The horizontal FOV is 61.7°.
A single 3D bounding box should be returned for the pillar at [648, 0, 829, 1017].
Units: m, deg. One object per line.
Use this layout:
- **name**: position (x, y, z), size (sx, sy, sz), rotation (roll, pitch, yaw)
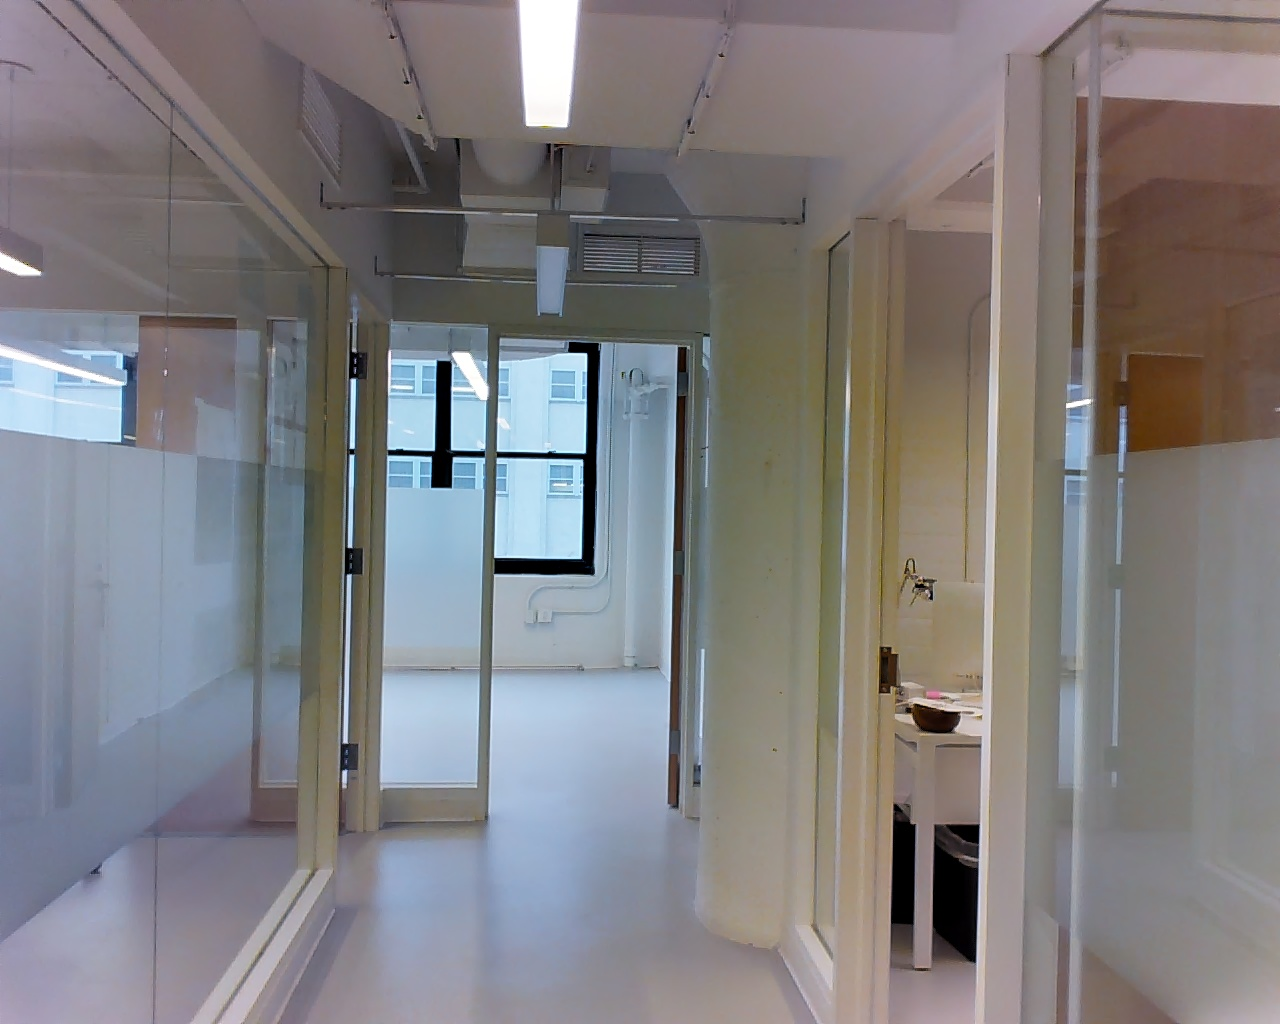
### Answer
- **pillar**: position (0.290, -0.010, 3.810), size (0.320, 2.911, 1.480), rotation (1, 0, -5)
